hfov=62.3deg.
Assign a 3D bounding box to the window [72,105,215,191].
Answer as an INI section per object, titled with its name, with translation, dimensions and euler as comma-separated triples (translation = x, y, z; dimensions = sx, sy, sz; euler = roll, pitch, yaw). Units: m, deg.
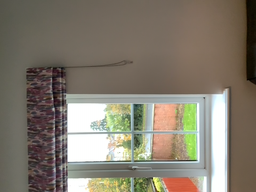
[window]
translation = 0.110, 0.590, 1.570
dimensions = 0.110, 0.990, 1.040
euler = -106, 16, -84
